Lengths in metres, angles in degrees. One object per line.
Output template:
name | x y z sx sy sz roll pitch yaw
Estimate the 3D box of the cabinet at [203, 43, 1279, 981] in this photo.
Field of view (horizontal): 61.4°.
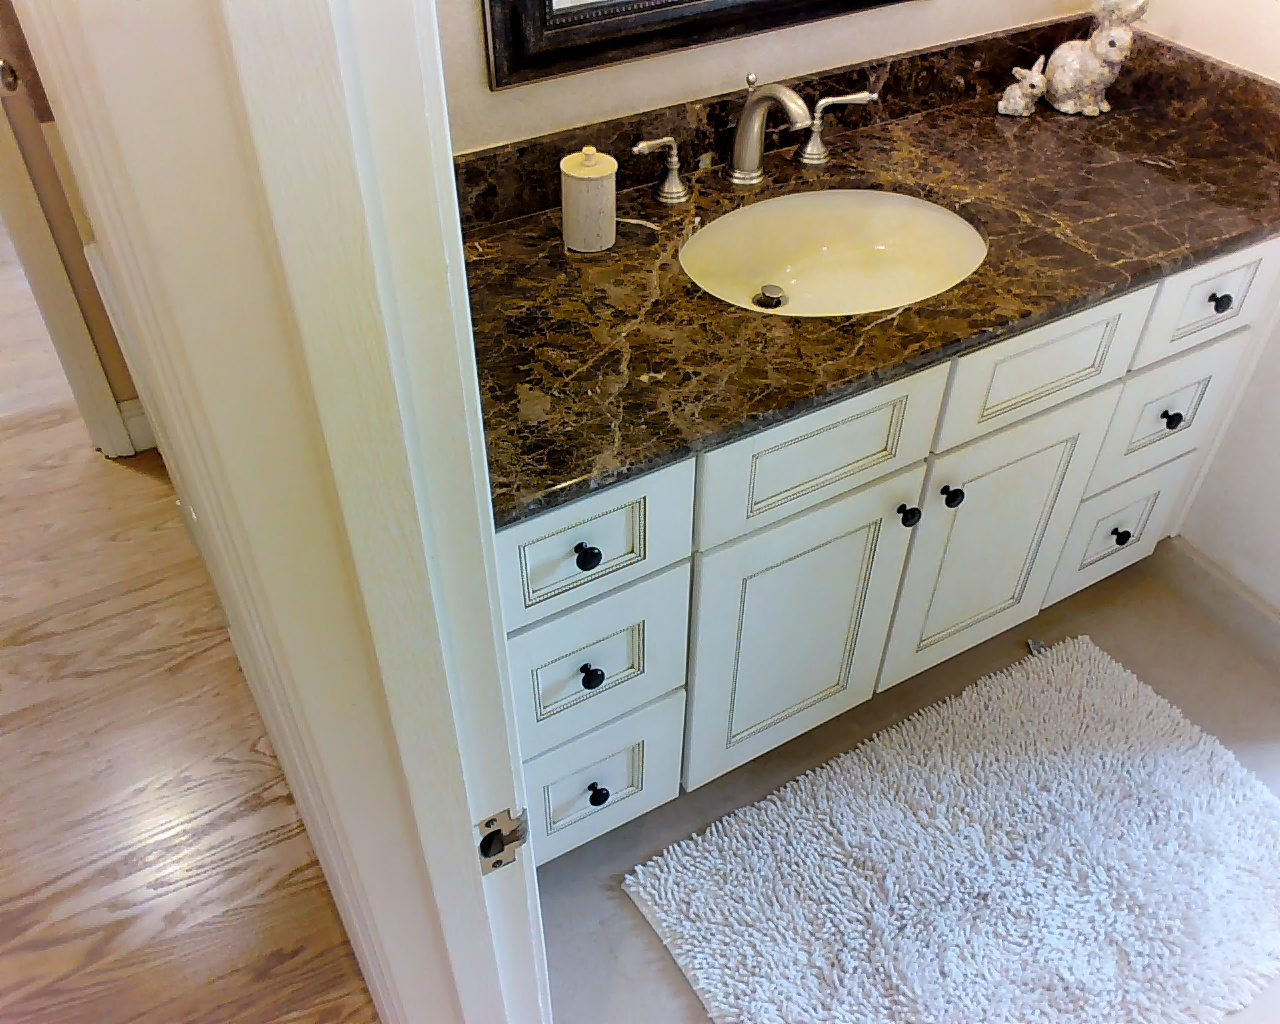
cabinet | 0.290 -0.070 1.770 1.610 0.930 0.540 -21 47 -22
